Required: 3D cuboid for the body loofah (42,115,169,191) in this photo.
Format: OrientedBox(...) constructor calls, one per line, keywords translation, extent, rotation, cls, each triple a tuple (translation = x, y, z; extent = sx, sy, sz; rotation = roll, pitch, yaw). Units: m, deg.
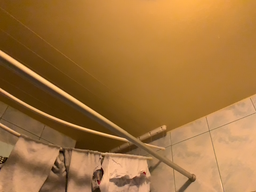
OrientedBox(translation=(-0.150, 0.580, 1.160), extent=(0.650, 0.670, 0.360), rotation=(-28, -52, 29), cls="body loofah")
